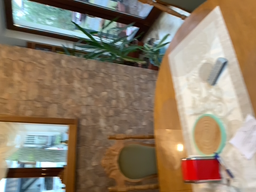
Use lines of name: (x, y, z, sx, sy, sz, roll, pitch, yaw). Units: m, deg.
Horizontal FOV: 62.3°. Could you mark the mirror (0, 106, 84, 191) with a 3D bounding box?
mirror: (-0.850, 0.760, 1.700, 0.140, 0.930, 1.340, 138, 133, -58)
